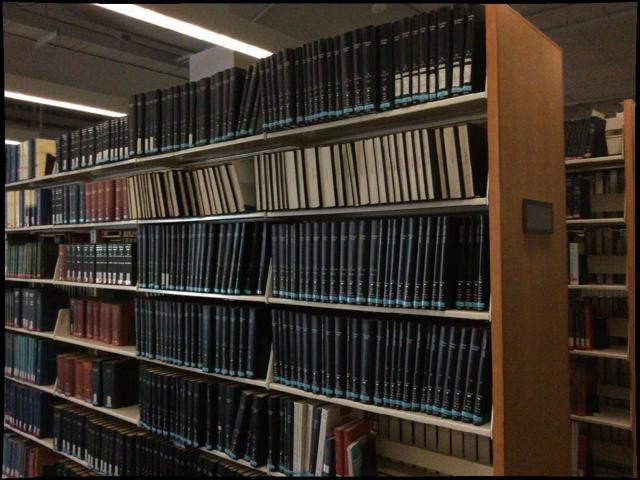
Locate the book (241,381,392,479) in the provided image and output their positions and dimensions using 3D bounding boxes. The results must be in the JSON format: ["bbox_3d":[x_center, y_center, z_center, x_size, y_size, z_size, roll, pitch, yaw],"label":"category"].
[{"bbox_3d":[-0.020,0.782,2.210,0.519,0.351,0.270,-2,2,41],"label":"book"}]

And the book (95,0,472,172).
[{"bbox_3d":[-0.339,-0.541,2.330,1.967,0.331,0.150,-2,2,41],"label":"book"}]

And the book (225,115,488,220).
[{"bbox_3d":[0.070,-0.221,2.020,0.999,0.251,0.190,-2,2,41],"label":"book"}]

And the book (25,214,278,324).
[{"bbox_3d":[-0.987,0.130,2.920,2.017,0.421,0.140,-2,2,41],"label":"book"}]

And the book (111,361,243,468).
[{"bbox_3d":[-0.668,0.762,2.610,0.769,0.311,0.150,-2,2,41],"label":"book"}]

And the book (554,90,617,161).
[{"bbox_3d":[1.376,-0.582,2.980,0.210,0.301,0.320,-2,2,41],"label":"book"}]

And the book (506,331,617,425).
[{"bbox_3d":[1.297,0.712,3.080,0.399,0.331,0.509,-2,2,41],"label":"book"}]

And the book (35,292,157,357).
[{"bbox_3d":[-1.327,0.471,3.360,0.869,0.271,0.280,-2,2,41],"label":"book"}]

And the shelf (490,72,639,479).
[{"bbox_3d":[1.446,0.431,3.030,0.759,2.366,0.669,-2,2,41],"label":"shelf"}]

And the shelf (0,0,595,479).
[{"bbox_3d":[-0.818,0.481,3.090,4.044,2.316,0.799,-2,2,41],"label":"shelf"}]

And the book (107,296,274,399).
[{"bbox_3d":[-0.628,0.451,2.610,1.038,0.341,0.130,-2,2,41],"label":"book"}]

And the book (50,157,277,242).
[{"bbox_3d":[-0.848,-0.160,2.830,1.518,0.301,0.260,-2,2,41],"label":"book"}]

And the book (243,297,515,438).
[{"bbox_3d":[0.150,0.401,2.040,1.009,0.331,0.210,-2,2,41],"label":"book"}]

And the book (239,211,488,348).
[{"bbox_3d":[0.090,0.120,2.000,0.979,0.391,0.100,-2,2,41],"label":"book"}]

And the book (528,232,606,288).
[{"bbox_3d":[1.307,0.100,3.040,0.290,0.261,0.320,-2,2,41],"label":"book"}]

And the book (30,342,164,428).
[{"bbox_3d":[-1.307,0.802,3.310,0.979,0.291,0.280,-2,2,41],"label":"book"}]
